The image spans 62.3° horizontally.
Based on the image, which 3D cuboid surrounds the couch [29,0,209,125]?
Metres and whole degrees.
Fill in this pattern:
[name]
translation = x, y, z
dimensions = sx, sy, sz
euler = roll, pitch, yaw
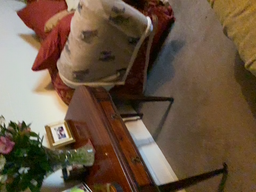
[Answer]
[couch]
translation = -0.370, -0.810, 2.130
dimensions = 1.950, 0.770, 1.030
euler = 56, 132, 38
